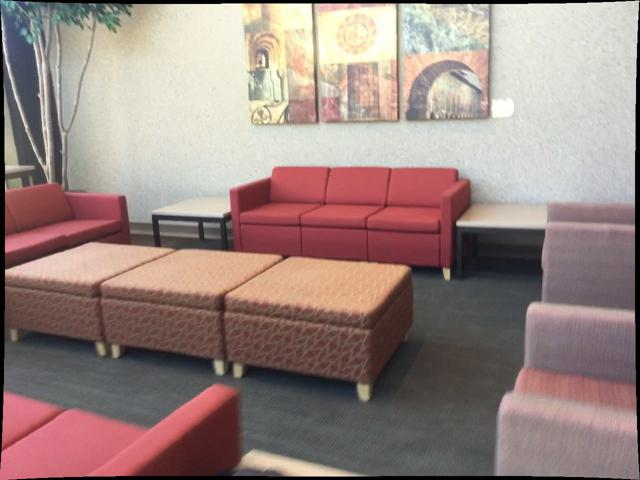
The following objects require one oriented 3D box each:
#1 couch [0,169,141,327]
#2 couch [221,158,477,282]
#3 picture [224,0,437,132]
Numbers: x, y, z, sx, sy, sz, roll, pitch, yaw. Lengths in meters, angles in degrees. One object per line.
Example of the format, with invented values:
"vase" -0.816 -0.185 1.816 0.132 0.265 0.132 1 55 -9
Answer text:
"couch" -2.316 0.040 4.150 0.879 0.801 1.870 5 17 24
"couch" 0.250 -0.240 4.860 1.937 0.761 0.840 5 17 23
"picture" 0.050 -1.763 4.900 1.847 1.643 0.200 5 17 23
